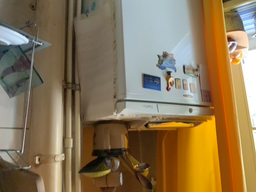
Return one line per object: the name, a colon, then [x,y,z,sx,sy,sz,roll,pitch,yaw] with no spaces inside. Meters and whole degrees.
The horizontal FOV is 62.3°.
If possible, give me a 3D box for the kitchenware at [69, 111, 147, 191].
kitchenware: [-0.110,0.250,1.010,0.230,0.310,0.310,6,165,-37]
